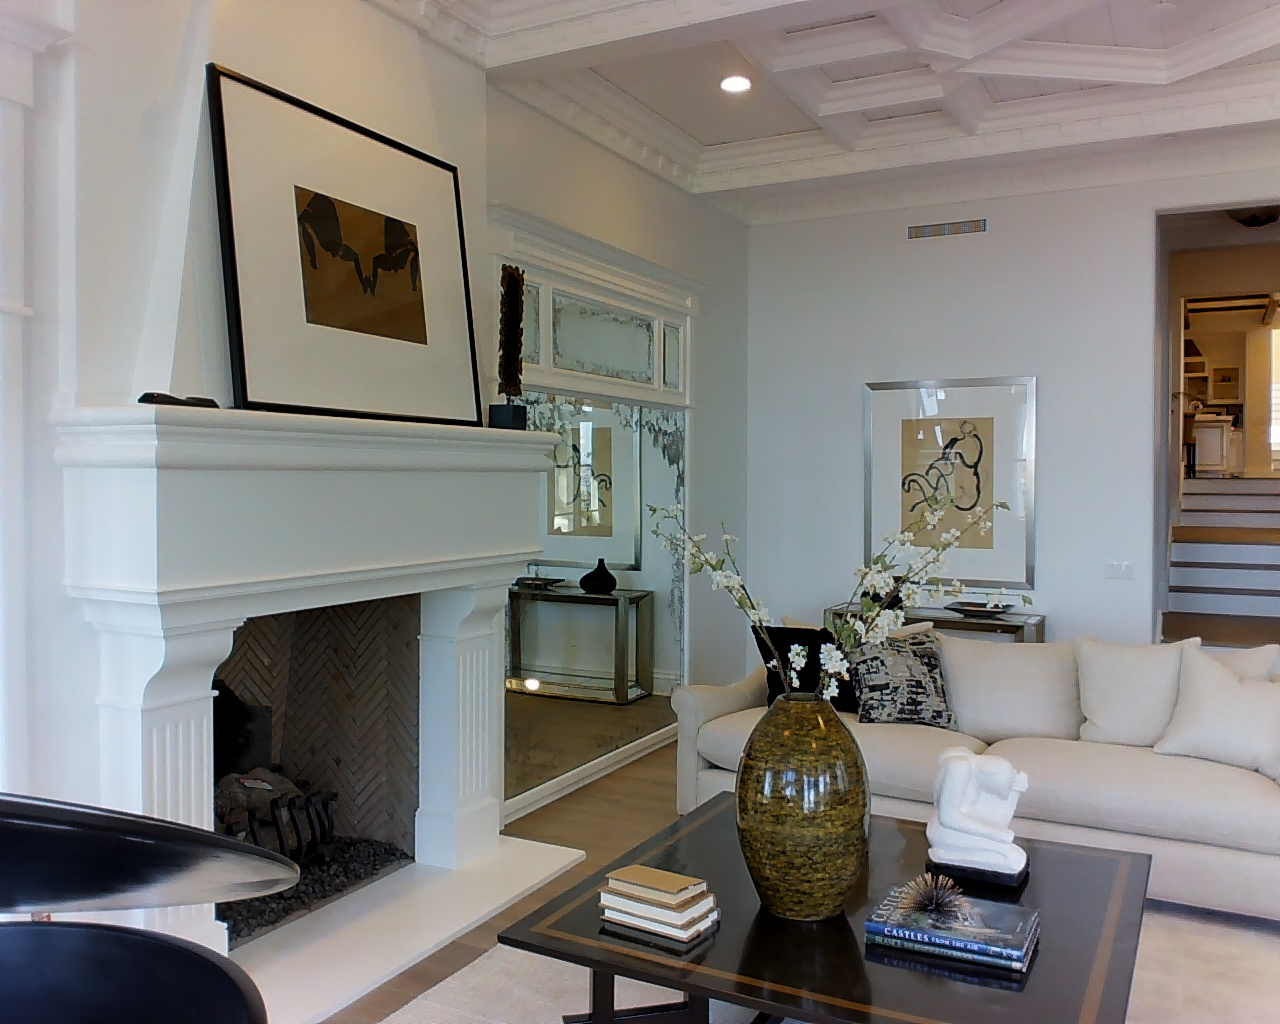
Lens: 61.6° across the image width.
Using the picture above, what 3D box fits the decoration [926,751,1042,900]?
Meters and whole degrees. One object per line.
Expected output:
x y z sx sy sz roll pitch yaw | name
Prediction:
0.980 0.880 3.050 0.280 0.320 0.220 1 3 28 | decoration

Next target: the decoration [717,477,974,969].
0.580 0.480 2.900 0.490 1.140 0.690 1 3 29 | decoration
